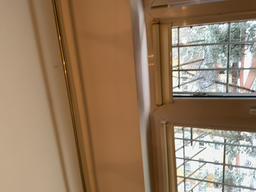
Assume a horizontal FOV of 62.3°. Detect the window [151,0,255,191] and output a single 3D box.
[{"bbox_3d":[0.710,0.290,1.040,0.220,1.090,1.560,-35,-56,-63],"label":"window"}]
